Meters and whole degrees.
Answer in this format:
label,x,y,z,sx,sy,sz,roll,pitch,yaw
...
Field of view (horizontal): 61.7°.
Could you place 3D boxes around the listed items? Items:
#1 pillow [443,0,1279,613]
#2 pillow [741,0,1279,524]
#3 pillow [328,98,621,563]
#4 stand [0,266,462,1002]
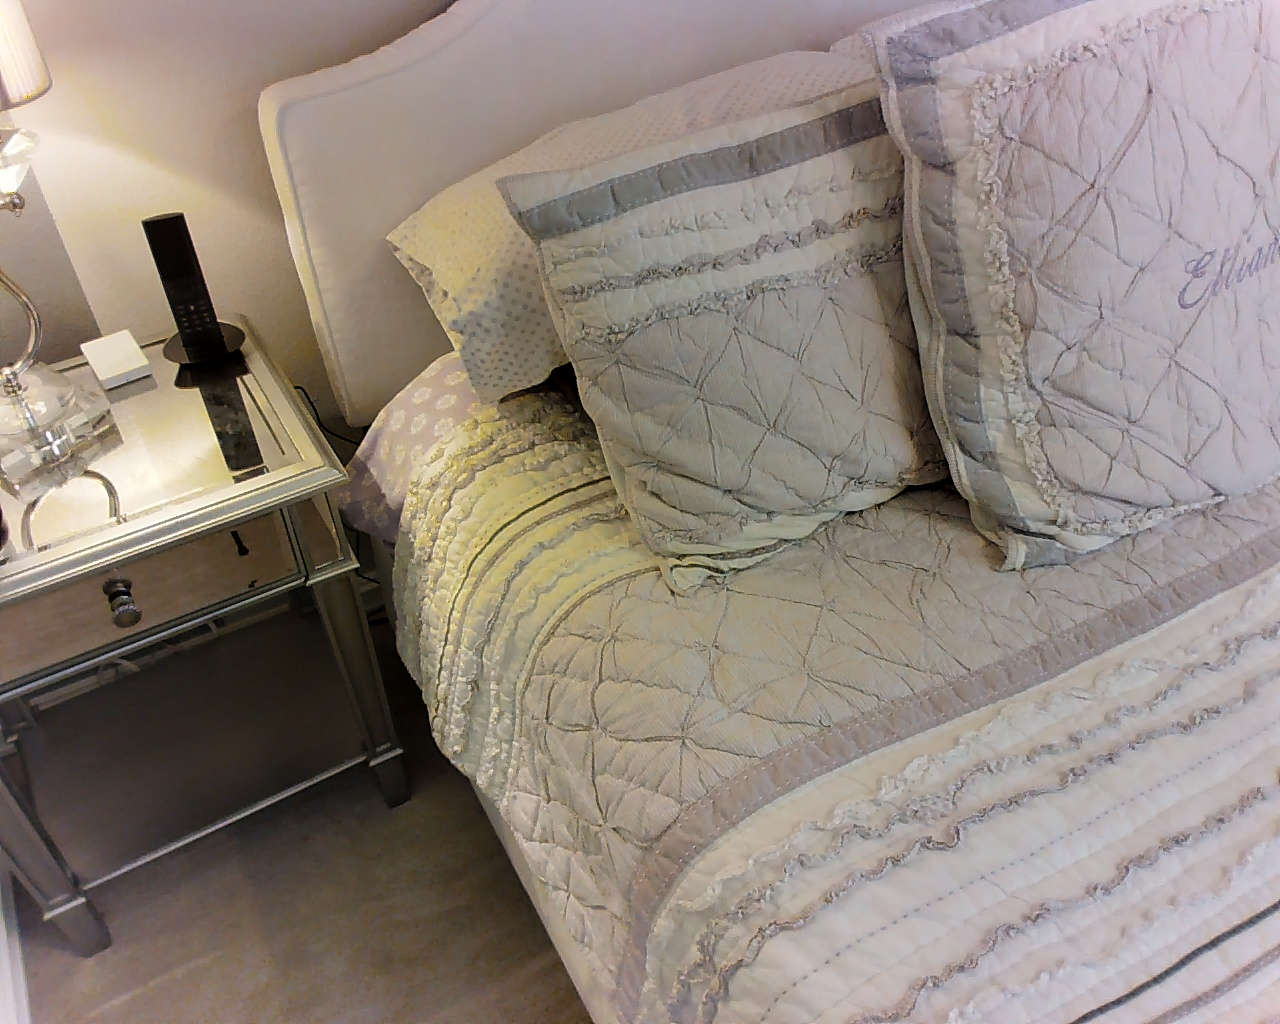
label,x,y,z,sx,sy,sz,roll,pitch,yaw
pillow,0.240,-0.310,1.160,0.750,0.470,0.380,-21,46,-21
pillow,0.560,-0.340,1.170,0.670,0.610,0.310,-3,38,-35
pillow,-0.200,-0.230,1.330,0.180,0.400,0.390,-21,46,-21
stand,-0.690,0.160,1.510,0.650,0.710,0.490,-21,46,-21
